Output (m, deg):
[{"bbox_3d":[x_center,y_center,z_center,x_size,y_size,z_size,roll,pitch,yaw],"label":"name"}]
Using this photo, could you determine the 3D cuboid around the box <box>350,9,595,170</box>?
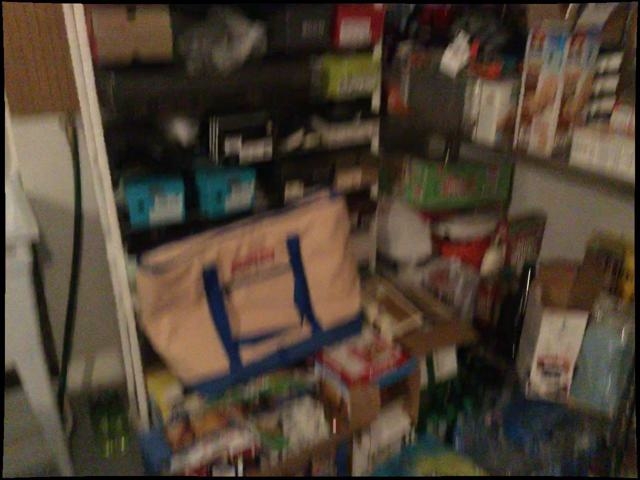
[{"bbox_3d":[0.400,-0.490,1.740,0.270,0.340,0.700,-15,29,-28],"label":"box"}]

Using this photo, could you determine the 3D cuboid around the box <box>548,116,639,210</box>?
[{"bbox_3d":[0.759,-0.180,1.360,0.230,0.130,0.330,-15,29,-28],"label":"box"}]

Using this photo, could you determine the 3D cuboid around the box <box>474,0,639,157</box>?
[{"bbox_3d":[0.639,-0.460,1.510,0.330,0.380,0.270,-15,29,-28],"label":"box"}]

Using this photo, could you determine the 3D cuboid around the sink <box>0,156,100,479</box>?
[{"bbox_3d":[-1.109,0.290,1.680,0.650,0.861,0.540,-15,29,-28],"label":"sink"}]

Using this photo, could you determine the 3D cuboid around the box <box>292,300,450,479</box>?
[{"bbox_3d":[0.140,0.480,1.780,0.290,0.390,0.390,-15,29,-28],"label":"box"}]

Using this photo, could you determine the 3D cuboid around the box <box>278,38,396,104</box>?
[{"bbox_3d":[0.050,-0.571,1.920,0.260,0.150,0.310,-15,29,-28],"label":"box"}]

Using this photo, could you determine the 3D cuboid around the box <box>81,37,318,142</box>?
[{"bbox_3d":[-0.330,-0.450,1.660,0.600,0.190,0.260,-15,29,-28],"label":"box"}]

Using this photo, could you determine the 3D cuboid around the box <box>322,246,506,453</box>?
[{"bbox_3d":[0.290,0.340,1.990,0.320,0.400,0.550,-15,29,-28],"label":"box"}]

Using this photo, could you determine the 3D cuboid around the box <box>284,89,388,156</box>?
[{"bbox_3d":[0.050,-0.410,1.980,0.230,0.140,0.290,-15,29,-28],"label":"box"}]

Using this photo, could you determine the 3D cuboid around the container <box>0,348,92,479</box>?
[{"bbox_3d":[-1.009,0.591,1.880,0.400,0.160,0.430,-15,29,-28],"label":"container"}]

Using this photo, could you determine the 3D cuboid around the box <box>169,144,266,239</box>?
[{"bbox_3d":[-0.320,-0.160,1.800,0.210,0.200,0.230,-15,29,-28],"label":"box"}]

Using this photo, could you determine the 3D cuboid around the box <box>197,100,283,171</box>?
[{"bbox_3d":[-0.240,-0.320,1.740,0.190,0.150,0.180,-15,29,-28],"label":"box"}]

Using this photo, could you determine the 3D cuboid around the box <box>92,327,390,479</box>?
[{"bbox_3d":[-0.210,0.601,1.570,0.630,0.380,0.460,-15,29,-28],"label":"box"}]
